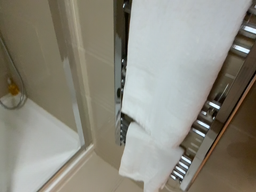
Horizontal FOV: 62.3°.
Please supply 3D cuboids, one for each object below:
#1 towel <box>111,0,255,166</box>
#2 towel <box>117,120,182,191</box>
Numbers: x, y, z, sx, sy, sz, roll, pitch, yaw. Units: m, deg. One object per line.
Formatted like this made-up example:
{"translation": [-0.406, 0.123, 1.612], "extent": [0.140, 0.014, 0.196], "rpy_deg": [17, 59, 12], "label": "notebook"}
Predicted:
{"translation": [0.090, -0.050, 0.600], "extent": [0.290, 0.510, 0.080], "rpy_deg": [30, 47, 26], "label": "towel"}
{"translation": [0.070, 0.330, 0.970], "extent": [0.240, 0.450, 0.080], "rpy_deg": [30, 52, 22], "label": "towel"}
